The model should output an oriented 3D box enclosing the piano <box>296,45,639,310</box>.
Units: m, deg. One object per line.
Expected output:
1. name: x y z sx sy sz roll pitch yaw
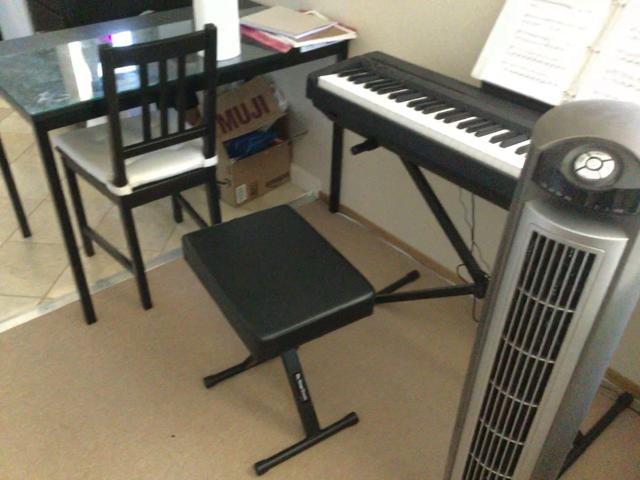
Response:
1. piano: 0.460 -0.180 1.310 0.340 0.160 1.320 -22 40 -30
